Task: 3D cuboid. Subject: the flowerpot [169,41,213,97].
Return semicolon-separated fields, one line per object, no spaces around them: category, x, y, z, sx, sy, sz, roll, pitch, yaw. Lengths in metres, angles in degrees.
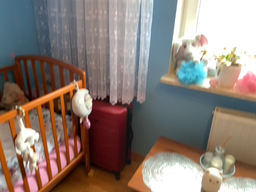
flowerpot;0.480;-0.220;1.610;0.210;0.320;0.310;14;27;23

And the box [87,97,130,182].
box;-0.160;0.370;1.800;0.260;0.640;0.230;12;27;19
